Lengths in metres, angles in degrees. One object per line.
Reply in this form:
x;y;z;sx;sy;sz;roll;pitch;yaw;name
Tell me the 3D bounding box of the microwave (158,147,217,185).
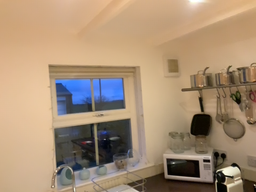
0.580;0.660;2.060;0.500;0.230;0.300;-4;0;24;microwave
